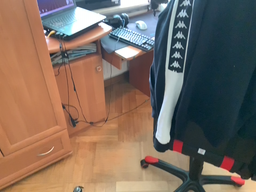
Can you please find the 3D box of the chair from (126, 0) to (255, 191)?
[{"bbox_3d":[0.440,0.000,1.090,0.700,1.380,0.620,16,41,19],"label":"chair"}]
